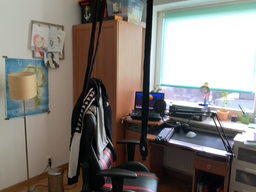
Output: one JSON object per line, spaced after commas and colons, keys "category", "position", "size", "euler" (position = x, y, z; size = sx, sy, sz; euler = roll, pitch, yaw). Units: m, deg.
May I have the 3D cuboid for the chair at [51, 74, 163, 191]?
{"category": "chair", "position": [-0.120, 0.530, 1.770], "size": [0.730, 1.370, 0.660], "euler": [3, 9, 10]}
